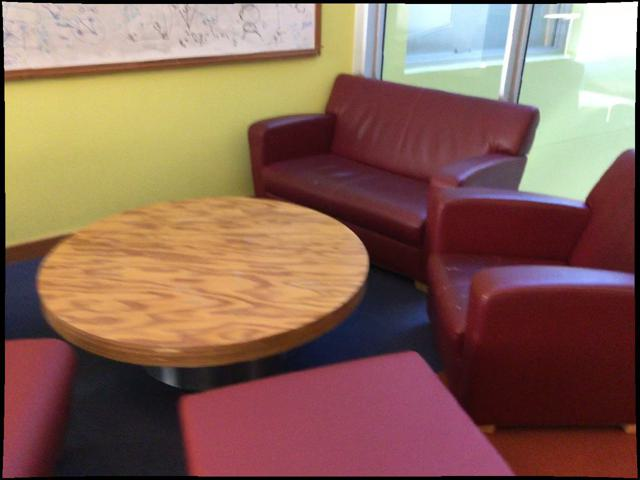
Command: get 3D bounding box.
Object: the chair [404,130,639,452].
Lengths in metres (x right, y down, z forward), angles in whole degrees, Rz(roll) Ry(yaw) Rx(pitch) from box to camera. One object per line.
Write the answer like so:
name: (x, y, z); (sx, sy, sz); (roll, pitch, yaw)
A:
chair: (0.849, 0.140, 2.080); (0.909, 0.811, 0.840); (1, 30, -1)
